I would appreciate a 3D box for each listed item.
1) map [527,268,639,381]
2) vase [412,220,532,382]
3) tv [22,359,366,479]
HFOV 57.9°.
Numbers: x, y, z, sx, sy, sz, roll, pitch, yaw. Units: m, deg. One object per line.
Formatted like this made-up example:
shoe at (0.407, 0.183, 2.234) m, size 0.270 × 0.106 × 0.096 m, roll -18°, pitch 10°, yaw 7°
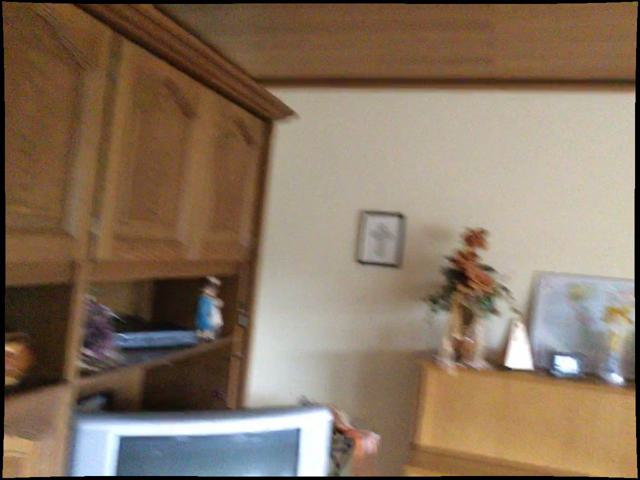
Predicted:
map at (1.299, 0.380, 2.540) m, size 0.689 × 0.430 × 0.070 m, roll 7°, pitch 2°, yaw 16°
vase at (0.669, 0.240, 2.550) m, size 0.410 × 0.611 × 0.390 m, roll 7°, pitch 2°, yaw 16°
tv at (-0.430, 0.771, 1.830) m, size 0.879 × 0.601 × 0.640 m, roll 5°, pitch 3°, yaw -30°
